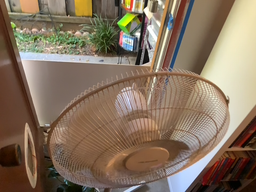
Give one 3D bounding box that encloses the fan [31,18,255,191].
[{"bbox_3d":[-0.010,0.330,0.950,0.530,1.240,0.350,-4,46,-14],"label":"fan"}]
